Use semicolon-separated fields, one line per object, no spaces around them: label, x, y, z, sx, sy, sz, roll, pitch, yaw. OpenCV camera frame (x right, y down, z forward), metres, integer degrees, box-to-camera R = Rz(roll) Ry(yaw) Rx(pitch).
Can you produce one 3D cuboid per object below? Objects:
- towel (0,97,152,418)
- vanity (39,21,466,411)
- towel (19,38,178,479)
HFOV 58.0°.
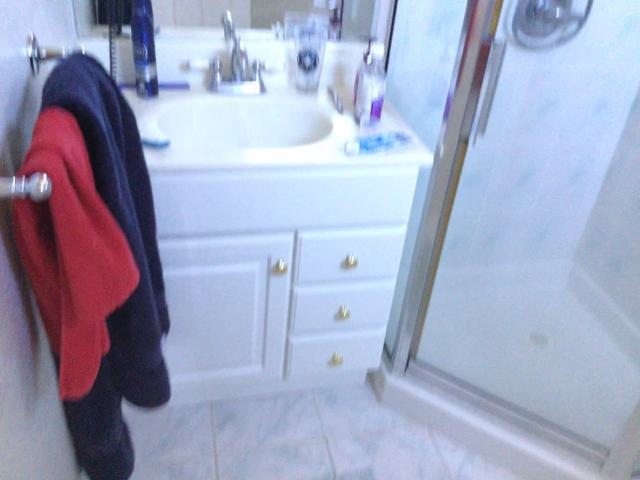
towel;-0.320;0.030;0.790;0.150;0.390;0.190;0;31;-12
vanity;-0.190;-0.050;1.540;0.830;0.860;0.470;0;31;-12
towel;-0.370;0.100;1.090;0.180;0.860;0.270;0;31;-12
